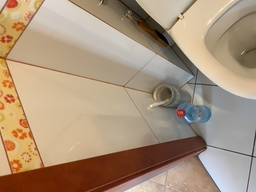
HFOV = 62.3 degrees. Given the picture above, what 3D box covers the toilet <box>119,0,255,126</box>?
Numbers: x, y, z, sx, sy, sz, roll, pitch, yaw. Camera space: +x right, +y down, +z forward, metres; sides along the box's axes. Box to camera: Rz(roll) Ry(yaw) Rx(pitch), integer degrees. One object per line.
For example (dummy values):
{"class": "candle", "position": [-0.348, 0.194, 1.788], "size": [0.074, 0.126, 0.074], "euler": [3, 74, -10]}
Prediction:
{"class": "toilet", "position": [0.300, -0.300, 0.720], "size": [0.360, 0.780, 0.700], "euler": [-42, 64, 22]}
